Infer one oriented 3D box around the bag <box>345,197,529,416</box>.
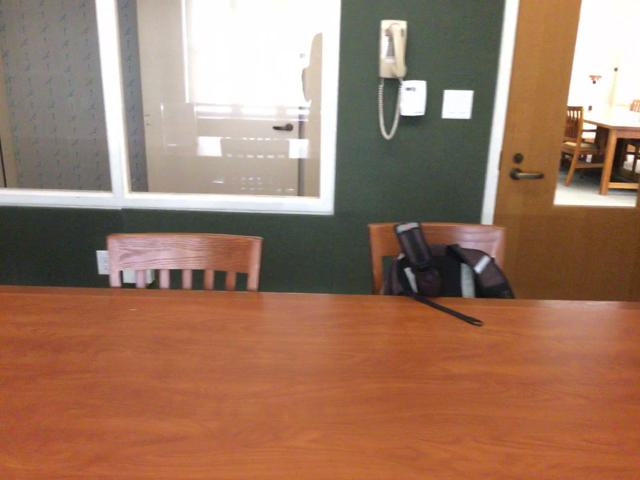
[{"bbox_3d":[0.320,0.170,1.660,0.410,0.510,0.250,-7,20,-24],"label":"bag"}]
